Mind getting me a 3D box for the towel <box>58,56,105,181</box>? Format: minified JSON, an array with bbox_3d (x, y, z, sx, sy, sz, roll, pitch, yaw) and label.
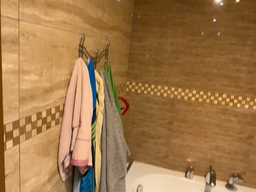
[{"bbox_3d":[-0.210,0.090,0.970,0.110,0.530,0.180,9,12,14],"label":"towel"}]
